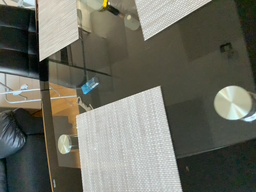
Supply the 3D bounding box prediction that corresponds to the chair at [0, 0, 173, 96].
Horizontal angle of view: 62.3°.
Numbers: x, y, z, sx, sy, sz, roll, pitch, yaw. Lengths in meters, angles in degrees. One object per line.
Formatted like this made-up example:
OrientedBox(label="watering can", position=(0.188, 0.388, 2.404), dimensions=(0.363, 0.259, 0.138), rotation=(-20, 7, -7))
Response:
OrientedBox(label="chair", position=(-0.240, -0.280, 1.140), dimensions=(0.550, 0.960, 0.410), rotation=(-8, 80, 38))
